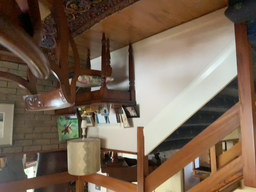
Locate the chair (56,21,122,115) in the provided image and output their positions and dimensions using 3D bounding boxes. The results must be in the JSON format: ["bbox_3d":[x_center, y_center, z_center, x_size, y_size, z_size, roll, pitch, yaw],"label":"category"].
[{"bbox_3d":[-0.410,-0.240,2.290,0.570,0.870,0.380,5,171,-42],"label":"chair"}]

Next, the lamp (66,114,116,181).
[{"bbox_3d":[-0.450,0.590,2.610,0.450,0.710,0.420,5,172,-38],"label":"lamp"}]
